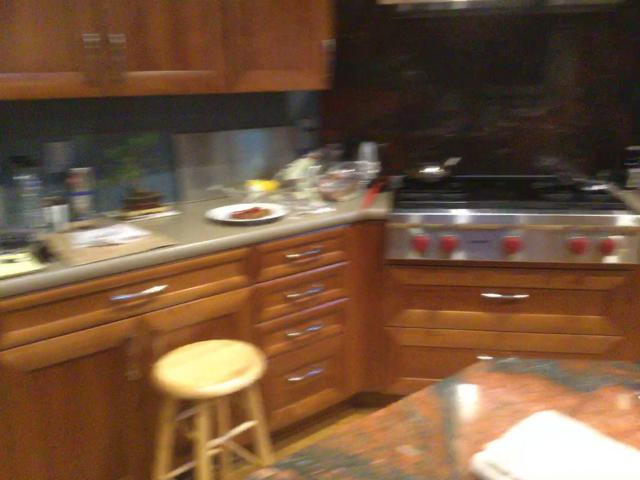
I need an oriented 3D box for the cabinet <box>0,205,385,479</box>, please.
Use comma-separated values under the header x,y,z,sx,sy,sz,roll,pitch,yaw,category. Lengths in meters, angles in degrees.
x,y,z,sx,sy,sz,roll,pitch,yaw,category
-0.300,0.420,1.940,1.260,0.880,0.140,-13,20,-35,cabinet
